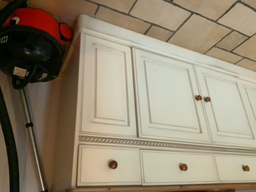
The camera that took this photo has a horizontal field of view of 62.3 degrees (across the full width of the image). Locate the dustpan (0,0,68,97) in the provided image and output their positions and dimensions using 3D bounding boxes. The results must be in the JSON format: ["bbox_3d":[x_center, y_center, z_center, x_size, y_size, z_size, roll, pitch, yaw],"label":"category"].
[{"bbox_3d":[-0.560,-0.250,1.200,0.310,0.330,0.390,11,150,-27],"label":"dustpan"}]
